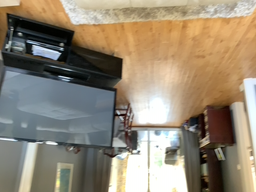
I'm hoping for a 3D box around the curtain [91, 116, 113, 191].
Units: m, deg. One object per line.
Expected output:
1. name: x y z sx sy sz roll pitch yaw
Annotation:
1. curtain: -0.720 1.630 6.050 0.400 2.100 0.270 0 160 6
